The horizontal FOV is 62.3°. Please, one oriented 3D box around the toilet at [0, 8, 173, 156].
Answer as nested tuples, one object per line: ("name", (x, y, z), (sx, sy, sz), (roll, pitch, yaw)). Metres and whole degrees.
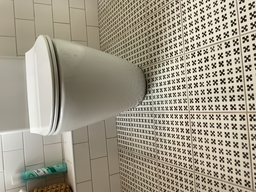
("toilet", (-0.340, -0.030, 0.890), (0.610, 0.810, 0.380), (-7, 87, 60))
